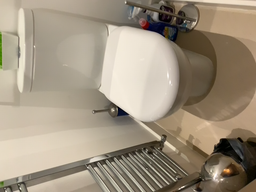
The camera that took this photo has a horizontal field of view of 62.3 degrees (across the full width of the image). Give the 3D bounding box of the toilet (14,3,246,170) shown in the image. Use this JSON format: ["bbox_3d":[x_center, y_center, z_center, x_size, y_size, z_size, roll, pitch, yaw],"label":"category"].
[{"bbox_3d":[-0.010,-0.120,0.990,0.630,0.810,0.390,32,118,46],"label":"toilet"}]
